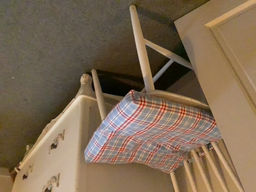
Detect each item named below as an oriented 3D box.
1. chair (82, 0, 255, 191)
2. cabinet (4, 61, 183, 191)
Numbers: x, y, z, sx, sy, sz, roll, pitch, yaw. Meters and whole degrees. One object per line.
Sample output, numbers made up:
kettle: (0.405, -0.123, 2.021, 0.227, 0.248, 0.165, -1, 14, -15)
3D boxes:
chair: (0.160, 0.100, 0.800, 0.540, 0.780, 0.400, 15, 136, -26)
cabinet: (-0.270, 0.500, 1.180, 0.540, 0.840, 0.950, 24, 132, -33)
